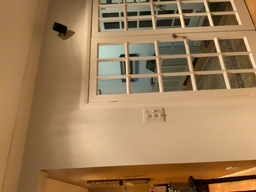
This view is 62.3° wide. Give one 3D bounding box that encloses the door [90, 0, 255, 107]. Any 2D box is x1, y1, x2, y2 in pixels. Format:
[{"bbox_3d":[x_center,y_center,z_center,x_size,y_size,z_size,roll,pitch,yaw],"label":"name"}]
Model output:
[{"bbox_3d":[0.550,-0.760,2.570,0.190,1.920,1.760,89,179,-65],"label":"door"}]
